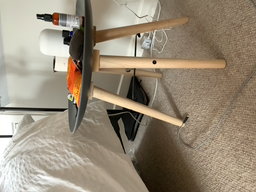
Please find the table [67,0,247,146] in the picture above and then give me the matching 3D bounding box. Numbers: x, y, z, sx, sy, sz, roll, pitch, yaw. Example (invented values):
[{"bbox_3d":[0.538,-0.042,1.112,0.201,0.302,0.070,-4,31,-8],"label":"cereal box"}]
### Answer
[{"bbox_3d":[0.020,-0.130,0.780,0.420,0.420,0.430,-112,32,-48],"label":"table"}]
